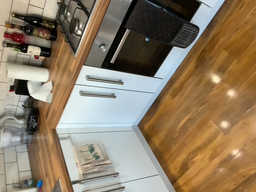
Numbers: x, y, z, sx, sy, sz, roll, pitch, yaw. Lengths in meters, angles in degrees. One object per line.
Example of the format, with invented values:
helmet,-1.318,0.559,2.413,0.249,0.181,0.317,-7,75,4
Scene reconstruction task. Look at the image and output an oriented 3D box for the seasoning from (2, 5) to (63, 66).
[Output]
seasoning,-0.700,-0.420,1.550,0.350,0.330,0.110,-58,46,30
